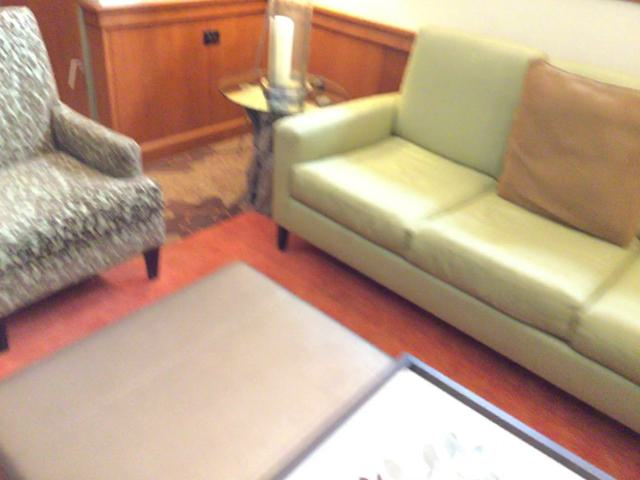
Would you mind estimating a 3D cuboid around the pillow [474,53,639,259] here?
[{"bbox_3d":[0.960,-0.330,2.120,0.600,0.520,0.300,29,39,33],"label":"pillow"}]
